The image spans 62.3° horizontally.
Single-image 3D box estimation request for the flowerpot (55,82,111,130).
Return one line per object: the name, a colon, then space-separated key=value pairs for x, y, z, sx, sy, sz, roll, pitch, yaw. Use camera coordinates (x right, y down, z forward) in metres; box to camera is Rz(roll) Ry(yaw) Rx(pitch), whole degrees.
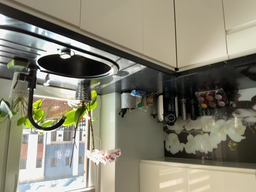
flowerpot: x=-0.350 y=0.100 z=1.680 sx=0.260 sy=0.320 sz=0.330 roll=-10 pitch=165 yaw=42
